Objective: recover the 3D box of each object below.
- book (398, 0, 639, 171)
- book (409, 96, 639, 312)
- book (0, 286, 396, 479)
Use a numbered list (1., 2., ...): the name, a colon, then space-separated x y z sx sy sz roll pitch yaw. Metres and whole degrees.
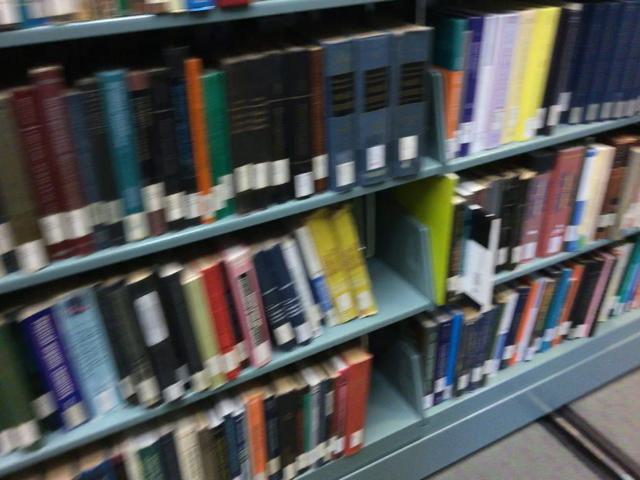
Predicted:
1. book: 0.550 -0.400 1.200 0.780 0.270 0.210 -20 30 -23
2. book: 0.590 -0.120 1.330 0.760 0.240 0.230 -19 29 -22
3. book: -0.240 0.380 1.160 0.770 0.260 0.230 -19 29 -22
